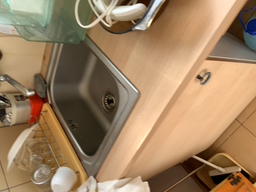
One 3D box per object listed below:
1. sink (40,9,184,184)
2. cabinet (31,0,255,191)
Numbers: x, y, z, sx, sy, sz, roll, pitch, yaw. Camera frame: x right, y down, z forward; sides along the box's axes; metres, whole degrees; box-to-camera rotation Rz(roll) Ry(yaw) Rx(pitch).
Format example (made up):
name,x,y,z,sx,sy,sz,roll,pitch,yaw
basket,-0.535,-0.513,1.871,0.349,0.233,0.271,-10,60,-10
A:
name,x,y,z,sx,sy,sz,roll,pitch,yaw
sink,-0.120,-0.020,0.830,0.510,0.200,0.400,49,127,32
cabinet,0.120,-0.040,1.040,0.640,0.850,0.670,49,127,32
